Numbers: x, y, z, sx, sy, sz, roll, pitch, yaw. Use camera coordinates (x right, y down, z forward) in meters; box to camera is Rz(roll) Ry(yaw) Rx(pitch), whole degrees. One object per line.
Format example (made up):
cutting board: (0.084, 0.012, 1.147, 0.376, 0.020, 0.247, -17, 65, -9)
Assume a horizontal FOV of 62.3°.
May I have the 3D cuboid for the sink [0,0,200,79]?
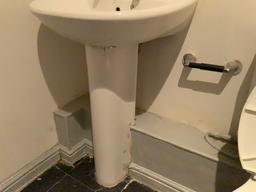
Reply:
sink: (-0.100, -0.290, 0.780, 0.590, 0.200, 0.430, 17, 31, 27)
